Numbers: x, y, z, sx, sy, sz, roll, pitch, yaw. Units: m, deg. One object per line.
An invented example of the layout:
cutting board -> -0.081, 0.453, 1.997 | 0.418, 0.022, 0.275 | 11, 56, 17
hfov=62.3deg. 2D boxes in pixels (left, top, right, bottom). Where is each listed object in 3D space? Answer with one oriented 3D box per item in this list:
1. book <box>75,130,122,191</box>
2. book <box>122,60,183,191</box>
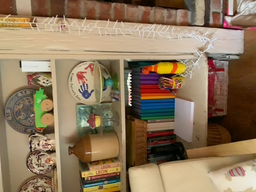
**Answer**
book -> -0.220, 0.590, 1.550 | 0.270, 0.280, 0.620 | 178, 90, -71
book -> 0.180, 0.350, 1.640 | 0.330, 0.320, 1.190 | 178, 90, -71
